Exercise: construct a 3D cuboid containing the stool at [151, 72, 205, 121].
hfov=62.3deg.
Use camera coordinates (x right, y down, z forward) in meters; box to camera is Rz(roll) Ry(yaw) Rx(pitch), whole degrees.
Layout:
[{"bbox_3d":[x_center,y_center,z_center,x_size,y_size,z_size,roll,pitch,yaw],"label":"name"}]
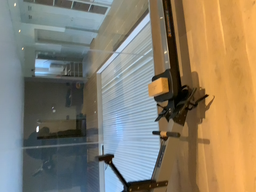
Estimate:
[{"bbox_3d":[0.440,0.020,1.920,0.310,0.330,0.390,158,111,-65],"label":"stool"}]
